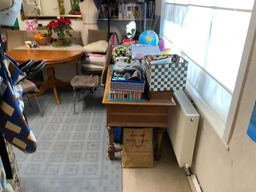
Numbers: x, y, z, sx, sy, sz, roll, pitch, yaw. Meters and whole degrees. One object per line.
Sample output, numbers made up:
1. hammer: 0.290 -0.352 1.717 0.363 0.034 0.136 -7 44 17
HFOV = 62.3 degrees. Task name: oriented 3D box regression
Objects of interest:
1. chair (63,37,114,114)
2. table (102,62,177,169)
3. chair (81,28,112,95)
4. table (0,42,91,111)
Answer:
1. chair: -0.510 -0.290 2.970 0.590 0.970 0.420 -2 25 -5
2. table: 0.070 0.130 2.360 0.610 0.720 1.090 -1 25 -2
3. chair: -0.530 -0.610 3.640 0.430 0.980 0.620 -3 25 -7
4. table: -1.250 -0.380 3.420 1.120 0.750 1.150 0 25 -2
